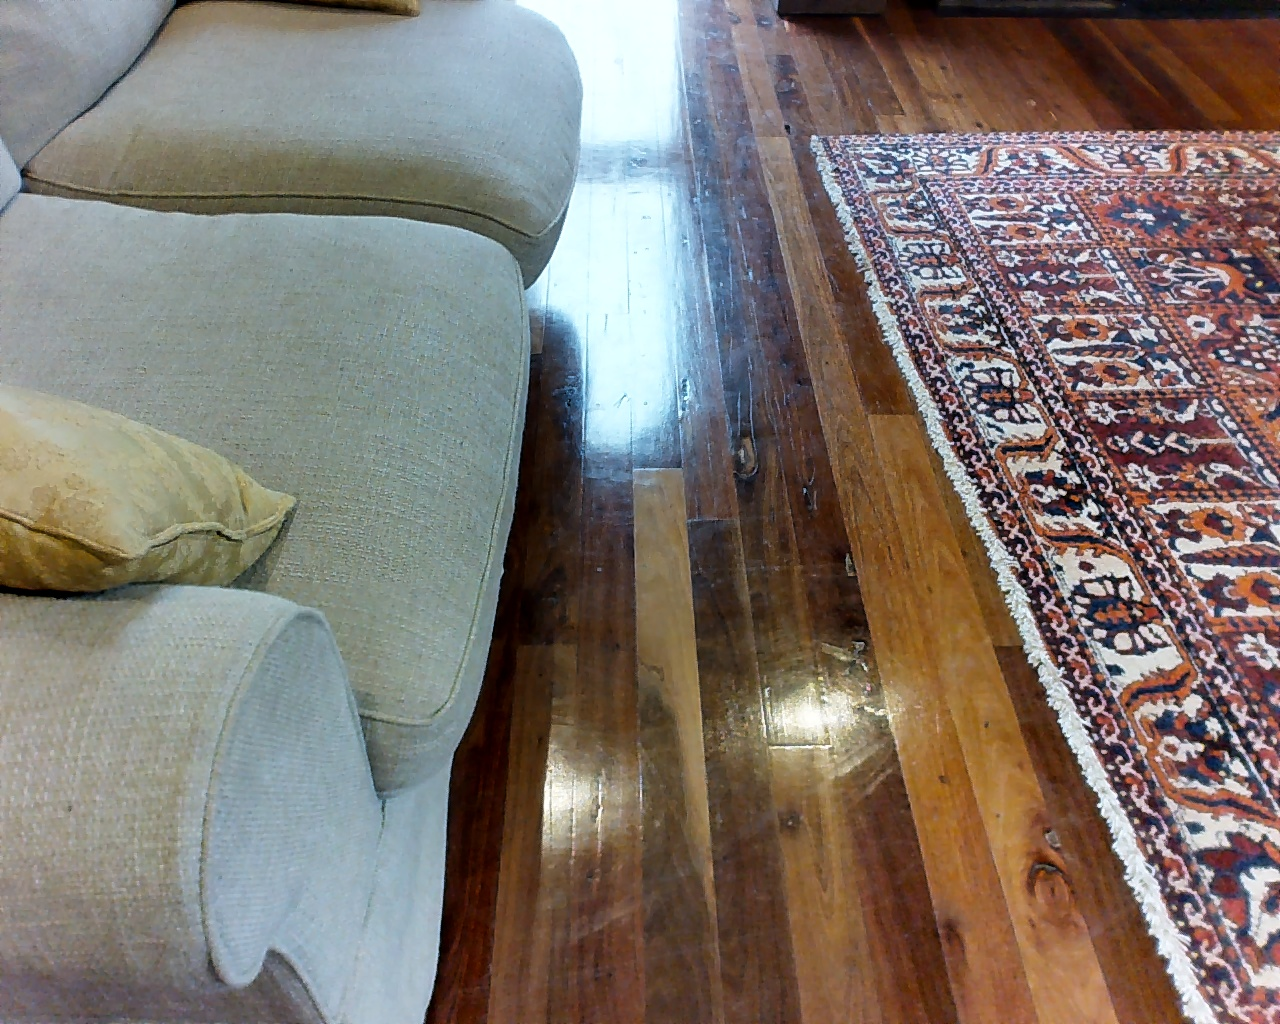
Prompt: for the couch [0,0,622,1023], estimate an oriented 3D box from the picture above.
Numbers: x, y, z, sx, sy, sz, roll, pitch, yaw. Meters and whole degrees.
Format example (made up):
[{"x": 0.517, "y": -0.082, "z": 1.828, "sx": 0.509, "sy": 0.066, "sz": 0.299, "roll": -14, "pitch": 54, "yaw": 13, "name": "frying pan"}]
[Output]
[{"x": -0.660, "y": -0.480, "z": 1.480, "sx": 1.180, "sy": 0.960, "sz": 2.390, "roll": 2, "pitch": 42, "yaw": 1, "name": "couch"}]
